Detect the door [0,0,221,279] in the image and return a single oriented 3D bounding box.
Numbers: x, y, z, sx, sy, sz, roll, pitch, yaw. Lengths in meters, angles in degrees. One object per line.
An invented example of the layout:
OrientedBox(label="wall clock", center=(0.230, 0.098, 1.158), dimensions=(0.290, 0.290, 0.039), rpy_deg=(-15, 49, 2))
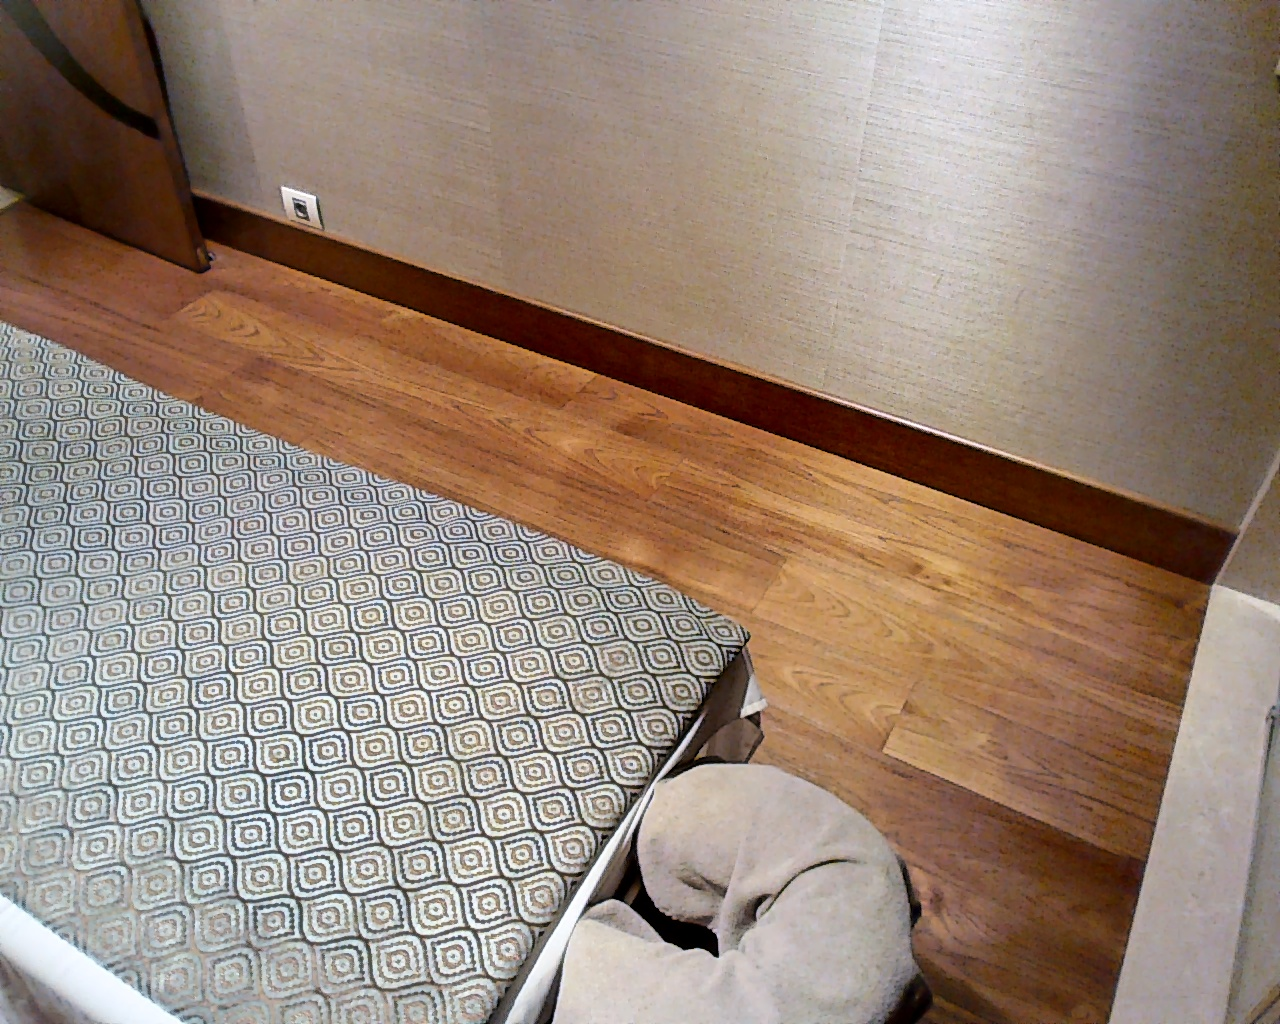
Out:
OrientedBox(label="door", center=(-1.610, -1.680, 2.570), dimensions=(0.910, 2.220, 0.060), rpy_deg=(24, 47, 22))
